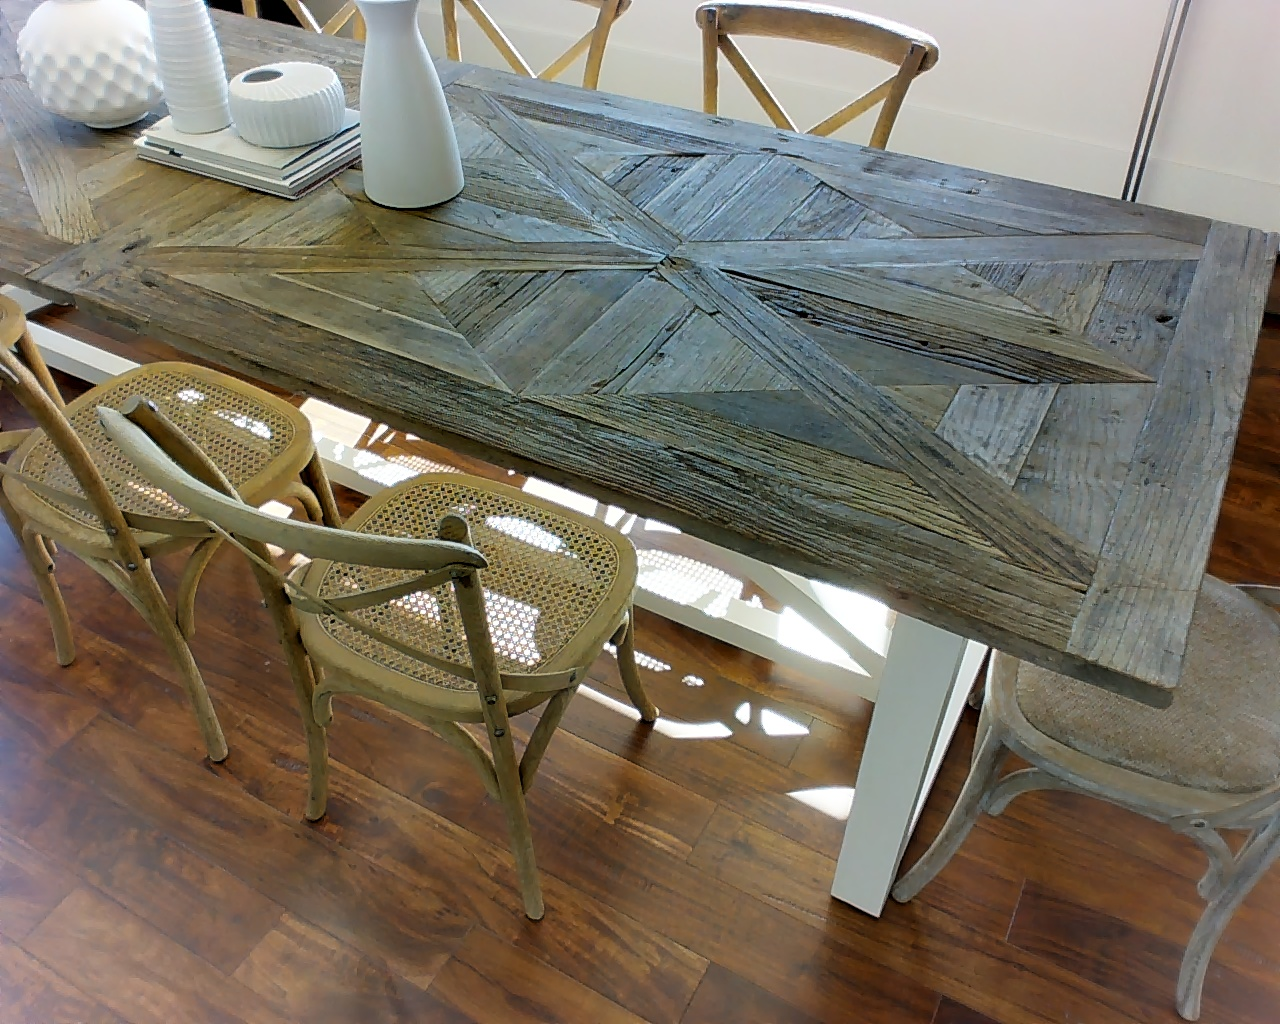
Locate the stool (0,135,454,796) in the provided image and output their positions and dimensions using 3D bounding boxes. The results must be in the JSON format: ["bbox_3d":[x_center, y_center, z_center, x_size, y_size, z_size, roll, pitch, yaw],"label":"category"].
[{"bbox_3d":[-0.770,-0.090,1.820,0.550,0.780,0.620,21,46,21],"label":"stool"}]

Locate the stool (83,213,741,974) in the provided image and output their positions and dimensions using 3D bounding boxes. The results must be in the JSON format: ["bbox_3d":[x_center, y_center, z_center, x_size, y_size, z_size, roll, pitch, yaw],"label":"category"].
[{"bbox_3d":[-0.250,0.110,1.600,0.530,0.790,0.630,21,46,21],"label":"stool"}]

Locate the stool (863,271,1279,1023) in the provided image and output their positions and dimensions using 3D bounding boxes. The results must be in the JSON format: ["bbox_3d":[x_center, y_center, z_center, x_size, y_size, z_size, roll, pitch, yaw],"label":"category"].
[{"bbox_3d":[0.720,0.230,1.440,0.580,0.830,0.500,21,46,21],"label":"stool"}]
